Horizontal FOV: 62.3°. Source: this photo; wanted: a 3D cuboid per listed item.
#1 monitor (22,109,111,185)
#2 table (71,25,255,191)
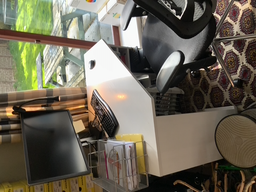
[{"bbox_3d":[-0.480,0.320,1.590,0.650,0.500,0.040,51,130,43],"label":"monitor"},{"bbox_3d":[0.130,0.090,1.770,1.340,0.720,0.760,53,132,42],"label":"table"}]
